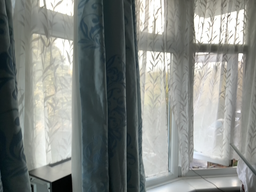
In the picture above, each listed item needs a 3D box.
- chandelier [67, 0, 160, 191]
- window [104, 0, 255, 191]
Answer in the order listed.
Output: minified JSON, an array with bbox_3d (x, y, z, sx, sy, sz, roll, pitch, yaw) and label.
[{"bbox_3d":[-0.040,0.010,0.900,0.170,1.590,0.380,4,6,38],"label":"chandelier"},{"bbox_3d":[0.460,-0.080,1.570,1.270,1.510,0.140,-2,5,-22],"label":"window"}]
